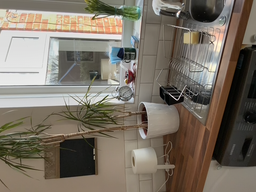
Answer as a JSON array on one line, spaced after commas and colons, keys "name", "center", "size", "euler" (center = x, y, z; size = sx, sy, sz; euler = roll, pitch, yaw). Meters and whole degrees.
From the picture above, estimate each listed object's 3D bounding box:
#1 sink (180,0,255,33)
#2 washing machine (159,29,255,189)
[{"name": "sink", "center": [0.480, -0.580, 1.060], "size": [0.490, 0.160, 0.450], "euler": [-120, 32, -63]}, {"name": "washing machine", "center": [0.800, -0.010, 1.320], "size": [0.720, 0.930, 0.660], "euler": [-120, 32, -63]}]
